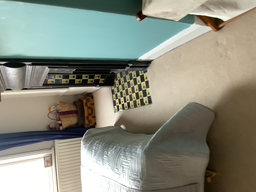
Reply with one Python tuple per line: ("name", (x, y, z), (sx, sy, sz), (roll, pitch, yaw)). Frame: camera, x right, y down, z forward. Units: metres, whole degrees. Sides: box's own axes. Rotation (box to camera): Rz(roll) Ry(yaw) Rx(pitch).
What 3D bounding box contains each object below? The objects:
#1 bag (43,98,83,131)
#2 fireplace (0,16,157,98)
("bag", (-1.060, 0.300, 3.470), (0.190, 0.560, 0.470), (-23, 73, 61))
("fireplace", (-0.610, -0.280, 2.130), (1.200, 1.310, 0.370), (-17, 78, 61))
